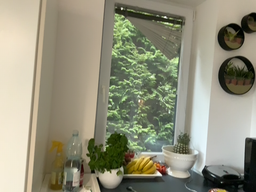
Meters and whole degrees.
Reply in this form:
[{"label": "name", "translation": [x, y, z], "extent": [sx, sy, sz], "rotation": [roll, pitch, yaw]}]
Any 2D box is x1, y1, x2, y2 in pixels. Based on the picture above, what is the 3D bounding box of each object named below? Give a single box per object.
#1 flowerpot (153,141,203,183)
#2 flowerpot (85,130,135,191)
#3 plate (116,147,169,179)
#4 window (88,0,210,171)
[{"label": "flowerpot", "translation": [0.380, 0.510, 1.680], "extent": [0.240, 0.220, 0.330], "rotation": [5, 0, -16]}, {"label": "flowerpot", "translation": [-0.140, 0.410, 1.430], "extent": [0.220, 0.280, 0.410], "rotation": [5, 0, -18]}, {"label": "plate", "translation": [0.100, 0.500, 1.620], "extent": [0.310, 0.150, 0.290], "rotation": [5, 0, -16]}, {"label": "window", "translation": [0.170, -0.150, 1.690], "extent": [0.830, 1.370, 0.270], "rotation": [5, 0, -18]}]
